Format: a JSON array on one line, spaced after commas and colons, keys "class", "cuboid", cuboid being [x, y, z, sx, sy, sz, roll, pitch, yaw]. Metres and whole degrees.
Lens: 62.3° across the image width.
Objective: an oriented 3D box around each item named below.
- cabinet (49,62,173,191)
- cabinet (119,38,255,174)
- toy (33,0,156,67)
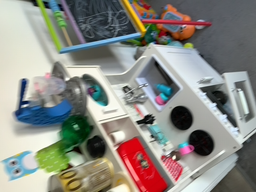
[{"class": "cabinet", "cuboid": [-0.100, 0.130, 0.850, 0.610, 0.160, 0.160, 54, 128, 24]}, {"class": "cabinet", "cuboid": [0.360, 0.010, 1.250, 0.650, 0.480, 0.310, 54, 128, 24]}, {"class": "toy", "cuboid": [-0.220, -0.500, 1.260, 0.530, 0.400, 0.390, 53, 128, 24]}]
